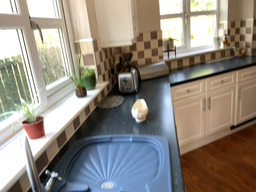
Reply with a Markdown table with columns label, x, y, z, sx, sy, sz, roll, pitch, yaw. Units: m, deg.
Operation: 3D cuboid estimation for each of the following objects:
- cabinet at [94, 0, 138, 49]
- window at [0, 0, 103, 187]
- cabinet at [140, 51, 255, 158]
| label | x | y | z | sx | sy | sz | roll | pitch | yaw |
| --- | --- | --- | --- | --- | --- | --- | --- | --- | --- |
| cabinet | -0.110 | -0.930 | 2.000 | 0.270 | 0.880 | 0.620 | -3 | 18 | 10 |
| window | -0.520 | -0.450 | 0.900 | 0.130 | 1.380 | 1.870 | -3 | 18 | 11 |
| cabinet | 1.620 | -0.100 | 3.100 | 2.900 | 0.890 | 0.600 | -14 | 19 | -23 |
